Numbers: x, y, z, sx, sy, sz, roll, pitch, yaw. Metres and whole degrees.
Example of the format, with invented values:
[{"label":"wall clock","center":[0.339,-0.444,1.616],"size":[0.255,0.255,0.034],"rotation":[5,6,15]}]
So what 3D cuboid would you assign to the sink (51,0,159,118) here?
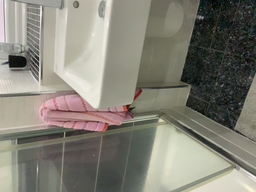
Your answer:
[{"label":"sink","center":[-0.110,-0.310,0.740],"size":[0.450,0.170,0.620],"rotation":[33,120,50]}]
